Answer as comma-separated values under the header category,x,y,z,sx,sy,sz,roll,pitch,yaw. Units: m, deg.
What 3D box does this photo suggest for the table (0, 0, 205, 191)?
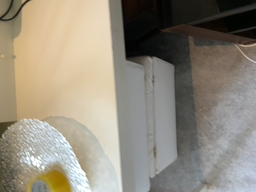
category,x,y,z,sx,sy,sz,roll,pitch,yaw
table,-0.130,-0.140,0.970,0.730,0.750,1.260,-3,88,29

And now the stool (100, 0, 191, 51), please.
category,x,y,z,sx,sy,sz,roll,pitch,yaw
stool,0.110,-0.450,1.020,0.250,0.480,0.330,-4,87,29
